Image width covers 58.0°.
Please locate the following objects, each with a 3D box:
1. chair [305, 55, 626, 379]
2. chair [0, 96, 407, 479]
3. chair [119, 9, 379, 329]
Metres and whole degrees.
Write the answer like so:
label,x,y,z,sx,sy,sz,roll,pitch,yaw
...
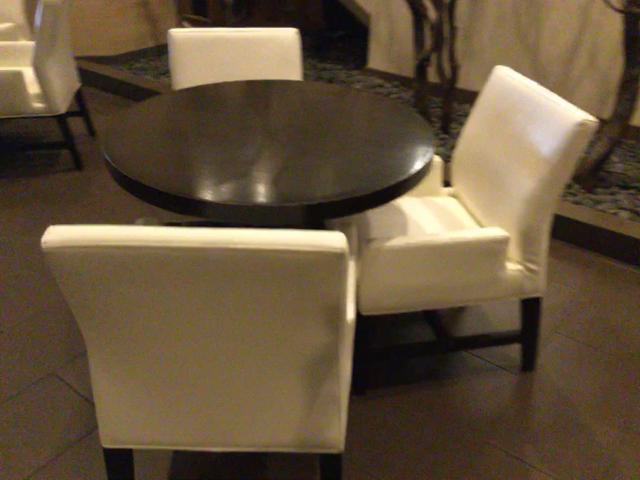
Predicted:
label,x,y,z,sx,sy,sz,roll,pitch,yaw
chair,0.340,-0.100,1.790,0.660,0.770,0.610,-3,32,-10
chair,-0.190,0.190,1.390,0.670,0.830,0.690,5,31,3
chair,-0.270,-0.310,2.160,0.700,0.870,0.880,-2,32,-9
